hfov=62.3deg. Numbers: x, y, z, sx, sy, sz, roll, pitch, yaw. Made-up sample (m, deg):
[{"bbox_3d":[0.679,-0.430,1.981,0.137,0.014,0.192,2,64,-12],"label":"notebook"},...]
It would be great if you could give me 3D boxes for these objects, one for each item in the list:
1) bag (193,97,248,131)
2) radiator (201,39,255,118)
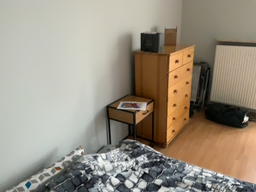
[{"bbox_3d":[1.390,0.250,3.200,0.660,0.220,0.410,13,25,33],"label":"bag"},{"bbox_3d":[1.610,-0.280,3.200,0.850,1.080,0.200,12,24,32],"label":"radiator"}]
